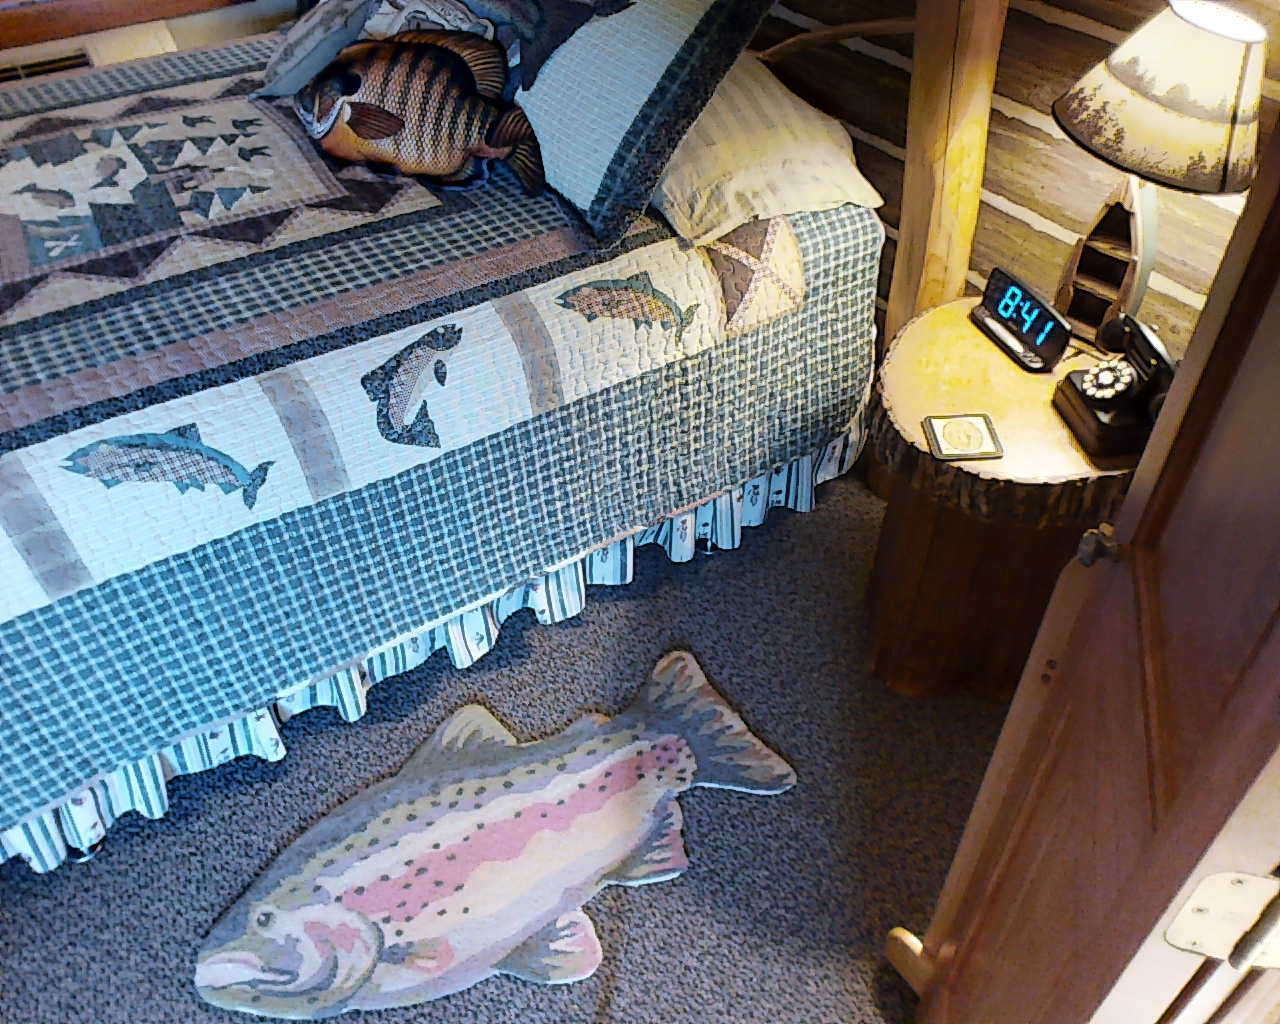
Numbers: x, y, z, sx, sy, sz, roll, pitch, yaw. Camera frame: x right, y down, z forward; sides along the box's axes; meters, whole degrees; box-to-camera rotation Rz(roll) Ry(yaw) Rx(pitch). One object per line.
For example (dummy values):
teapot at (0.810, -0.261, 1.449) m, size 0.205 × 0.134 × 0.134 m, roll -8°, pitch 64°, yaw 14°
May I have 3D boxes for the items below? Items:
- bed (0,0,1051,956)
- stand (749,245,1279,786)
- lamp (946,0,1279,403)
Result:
bed at (-0.800, -0.520, 2.090) m, size 2.490 × 1.180 × 1.660 m, roll -25°, pitch 48°, yaw -25°
stand at (0.630, -0.020, 1.950) m, size 0.600 × 0.590 × 0.570 m, roll -25°, pitch 48°, yaw -25°
lamp at (0.750, -0.520, 1.700) m, size 0.250 × 0.550 × 0.340 m, roll -25°, pitch 48°, yaw -25°
